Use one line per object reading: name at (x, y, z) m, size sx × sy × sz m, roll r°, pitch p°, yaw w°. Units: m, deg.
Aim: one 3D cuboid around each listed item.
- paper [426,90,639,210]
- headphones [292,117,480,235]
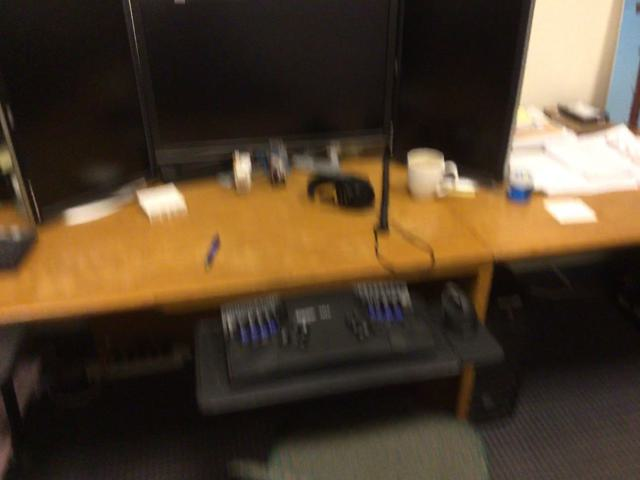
paper at (0.750, -0.300, 1.740) m, size 0.680 × 0.120 × 0.570 m, roll -7°, pitch 29°, yaw -11°
headphones at (0.150, -0.210, 1.640) m, size 0.350 × 0.090 × 0.600 m, roll -7°, pitch 29°, yaw -11°
